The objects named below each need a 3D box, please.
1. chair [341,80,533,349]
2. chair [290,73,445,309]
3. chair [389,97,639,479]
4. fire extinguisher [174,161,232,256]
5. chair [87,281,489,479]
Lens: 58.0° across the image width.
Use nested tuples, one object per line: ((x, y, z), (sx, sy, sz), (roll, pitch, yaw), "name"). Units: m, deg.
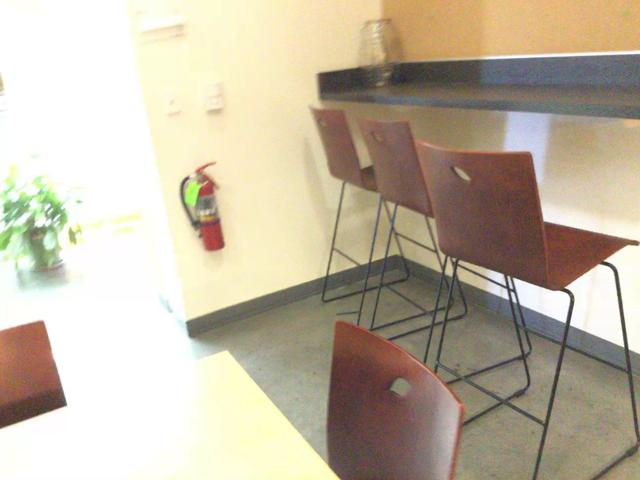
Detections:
((0.490, -0.130, 2.410), (0.530, 0.940, 0.440), (-15, 15, -22), "chair")
((0.240, -0.260, 2.920), (0.480, 1.030, 0.460), (-15, 15, -22), "chair")
((0.620, 0.120, 1.760), (0.520, 0.990, 0.470), (-16, 15, -25), "chair")
((-0.580, -0.160, 2.870), (0.180, 0.430, 0.120), (-15, 15, -22), "fire extinguisher")
((-0.060, 0.640, 1.190), (0.560, 0.860, 0.570), (-15, 20, -22), "chair")
